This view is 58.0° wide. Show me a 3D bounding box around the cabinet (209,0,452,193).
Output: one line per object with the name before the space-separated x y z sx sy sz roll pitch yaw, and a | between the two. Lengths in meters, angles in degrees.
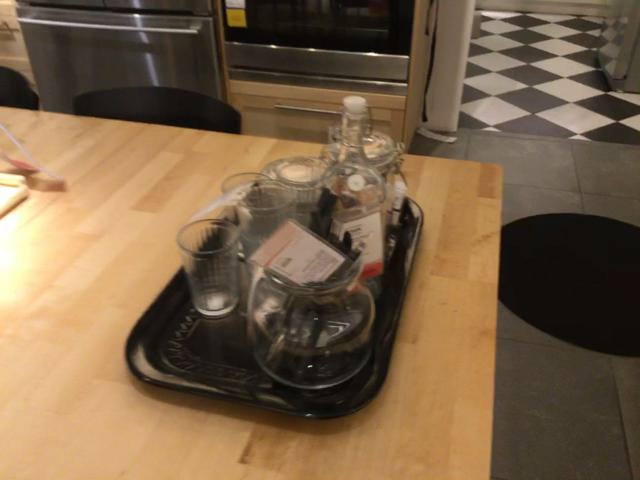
cabinet | 0.080 -1.220 2.190 0.860 1.920 0.630 9 36 13

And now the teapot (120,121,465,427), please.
teapot | -0.010 0.020 0.730 0.330 0.210 0.280 9 36 13
